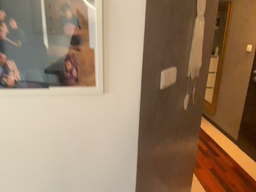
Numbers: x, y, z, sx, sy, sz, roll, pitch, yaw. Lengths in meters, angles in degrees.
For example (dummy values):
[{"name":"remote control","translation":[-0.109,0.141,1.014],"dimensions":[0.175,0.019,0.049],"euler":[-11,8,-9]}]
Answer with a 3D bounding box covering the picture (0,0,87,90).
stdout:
[{"name":"picture","translation":[-0.320,-0.160,0.670],"dimensions":[0.370,0.280,0.050],"euler":[-1,17,-9]}]
